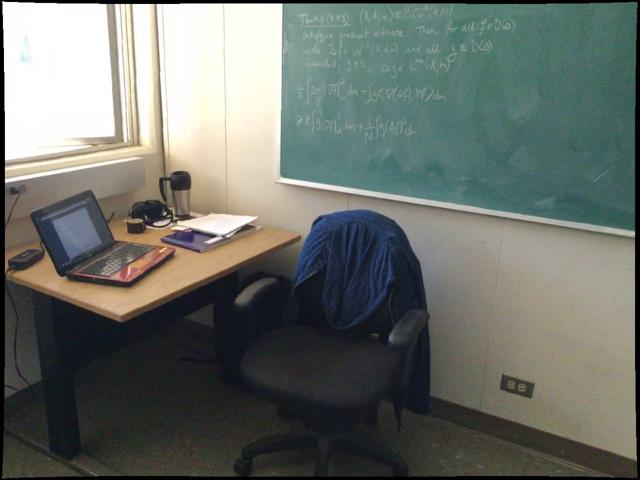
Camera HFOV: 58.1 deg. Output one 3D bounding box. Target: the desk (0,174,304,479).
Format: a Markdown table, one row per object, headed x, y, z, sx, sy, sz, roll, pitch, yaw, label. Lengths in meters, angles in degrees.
| x | y | z | sx | sy | sz | roll | pitch | yaw | label |
| --- | --- | --- | --- | --- | --- | --- | --- | --- | --- |
| -0.668 | 0.291 | 2.280 | 0.808 | 0.852 | 1.000 | 11 | 21 | 27 | desk |
